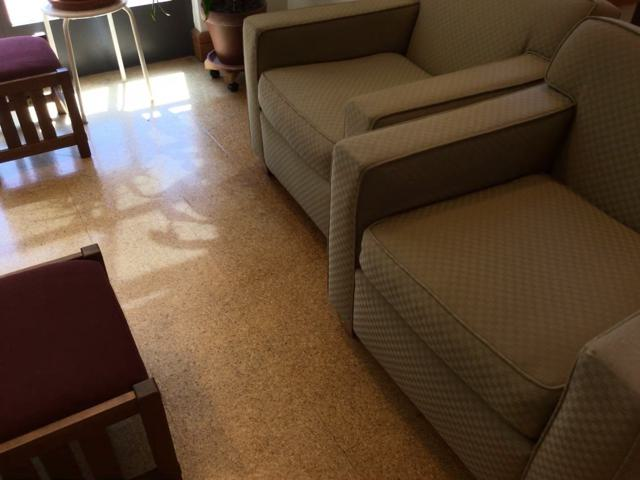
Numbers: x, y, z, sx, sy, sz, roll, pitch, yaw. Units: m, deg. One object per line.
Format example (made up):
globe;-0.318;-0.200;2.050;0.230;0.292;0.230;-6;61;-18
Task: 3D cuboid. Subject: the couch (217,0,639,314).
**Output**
couch;0.270;-0.470;1.890;0.860;0.780;0.910;-20;42;-25

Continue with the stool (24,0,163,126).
stool;-1.020;-0.890;2.580;0.400;0.520;0.500;-20;42;-25

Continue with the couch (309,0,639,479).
couch;0.580;0.020;1.280;0.890;0.780;0.860;-20;42;-25
